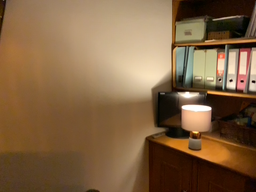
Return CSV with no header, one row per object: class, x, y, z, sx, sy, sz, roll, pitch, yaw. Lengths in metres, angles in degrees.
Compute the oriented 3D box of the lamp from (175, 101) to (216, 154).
lamp,0.480,0.210,1.510,0.230,0.300,0.180,-10,13,-42
